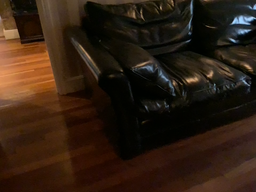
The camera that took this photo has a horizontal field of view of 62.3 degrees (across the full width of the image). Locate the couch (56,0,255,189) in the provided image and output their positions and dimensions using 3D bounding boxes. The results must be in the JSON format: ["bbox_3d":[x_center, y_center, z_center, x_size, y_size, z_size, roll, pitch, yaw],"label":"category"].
[{"bbox_3d":[0.710,-0.370,1.910,2.300,0.890,1.230,-14,36,-19],"label":"couch"}]
